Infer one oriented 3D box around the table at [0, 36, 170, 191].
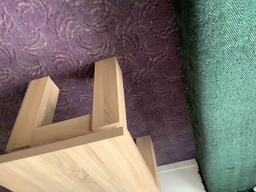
[{"bbox_3d":[-0.160,0.360,1.330,0.630,0.570,1.160,-15,136,10],"label":"table"}]
